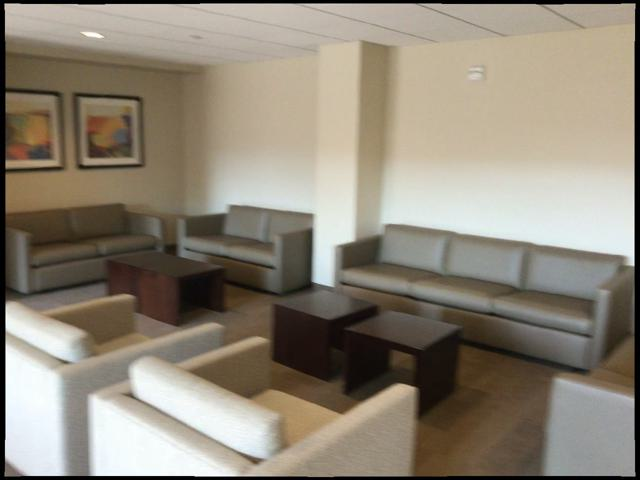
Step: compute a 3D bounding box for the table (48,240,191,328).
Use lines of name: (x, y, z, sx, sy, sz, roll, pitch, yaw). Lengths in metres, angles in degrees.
table: (-1.677, 0.331, 4.820, 1.049, 0.431, 0.600, 10, 13, 32)
